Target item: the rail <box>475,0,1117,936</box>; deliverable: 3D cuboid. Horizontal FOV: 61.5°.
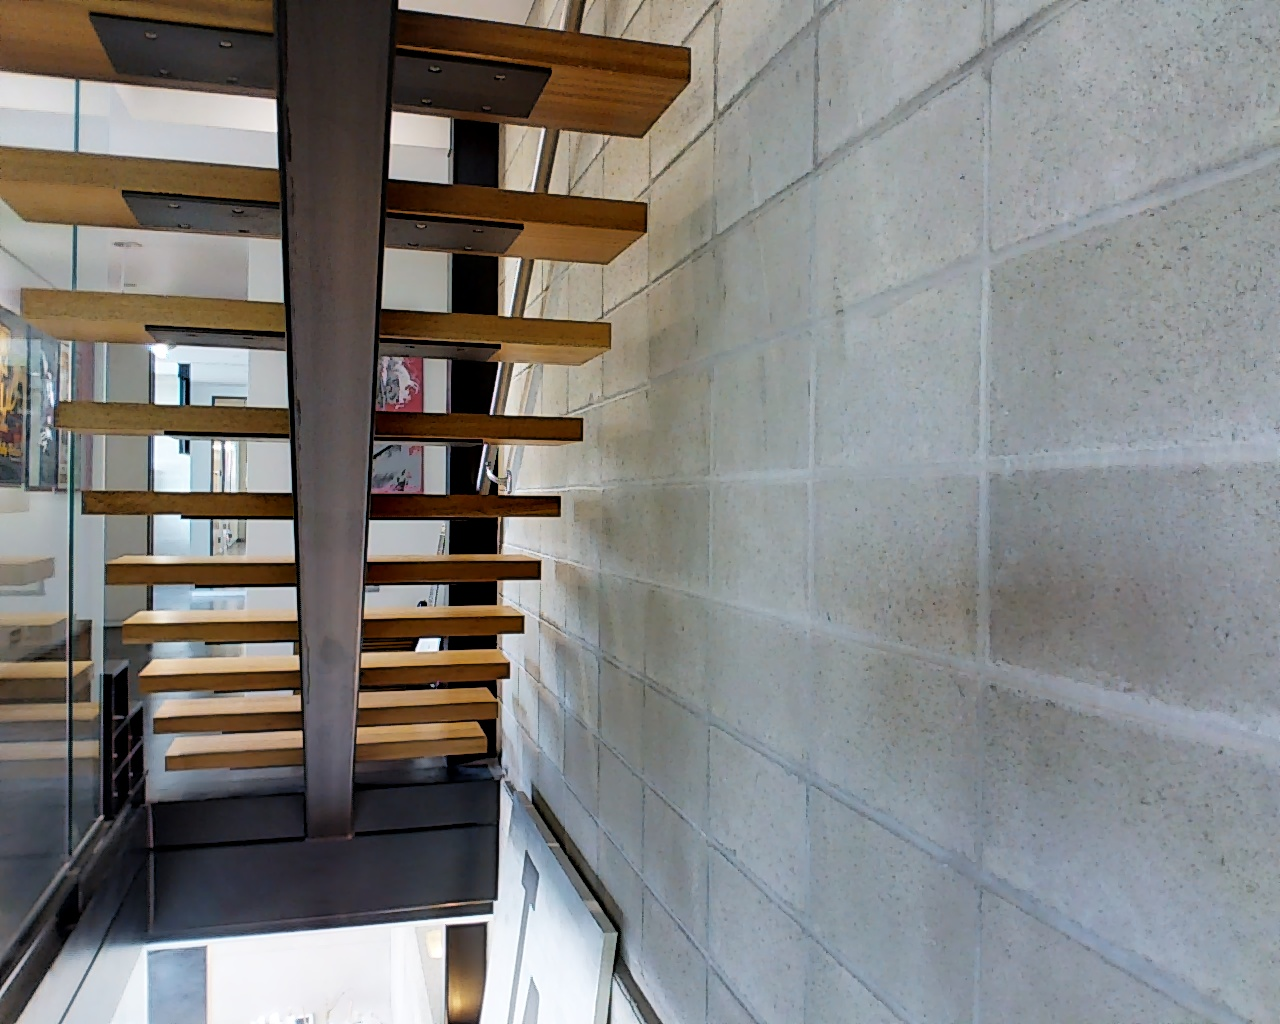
[{"bbox_3d":[-0.120,-0.880,2.530,0.130,0.740,3.690,0,36,-16],"label":"rail"}]
